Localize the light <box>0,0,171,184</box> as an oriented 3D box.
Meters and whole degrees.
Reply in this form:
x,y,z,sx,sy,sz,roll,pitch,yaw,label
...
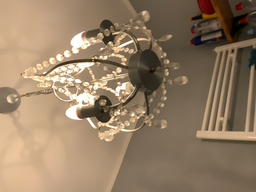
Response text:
x,y,z,sx,sy,sz,roll,pitch,yaw,label
-0.170,-0.160,0.910,0.460,0.590,0.880,-19,-130,34,light
